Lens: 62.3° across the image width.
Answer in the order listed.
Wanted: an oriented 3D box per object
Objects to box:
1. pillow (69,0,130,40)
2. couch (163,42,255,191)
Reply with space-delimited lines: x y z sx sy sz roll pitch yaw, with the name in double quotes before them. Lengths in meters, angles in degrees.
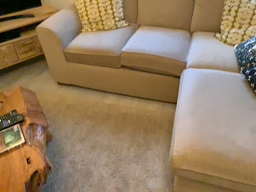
"pillow" -0.260 -0.810 1.970 0.430 0.370 0.190 22 27 -16
"couch" 0.720 0.200 1.190 0.910 0.610 0.810 9 41 11
